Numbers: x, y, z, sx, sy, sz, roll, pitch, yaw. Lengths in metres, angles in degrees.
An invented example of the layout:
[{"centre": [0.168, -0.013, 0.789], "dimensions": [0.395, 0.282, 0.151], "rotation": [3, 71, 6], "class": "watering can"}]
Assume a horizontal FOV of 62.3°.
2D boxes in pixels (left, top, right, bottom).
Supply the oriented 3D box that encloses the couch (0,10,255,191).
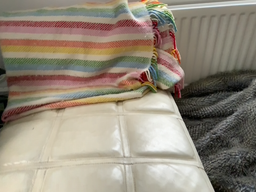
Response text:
[{"centre": [-0.170, 0.180, 0.850], "dimensions": [0.770, 0.680, 1.010], "rotation": [-5, 38, -2], "class": "couch"}]
